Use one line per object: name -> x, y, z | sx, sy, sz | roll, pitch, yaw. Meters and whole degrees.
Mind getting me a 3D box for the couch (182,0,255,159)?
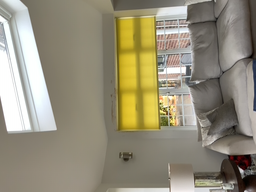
couch -> 1.320, -0.840, 3.000 | 1.090, 0.820, 3.190 | 57, -149, -81
